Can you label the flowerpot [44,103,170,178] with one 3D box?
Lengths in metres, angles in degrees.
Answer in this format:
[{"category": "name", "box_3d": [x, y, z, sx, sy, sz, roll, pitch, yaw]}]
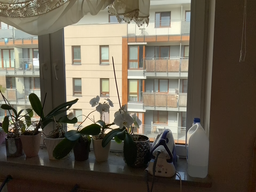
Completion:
[{"category": "flowerpot", "box_3d": [-0.110, 0.280, 1.640, 0.820, 0.340, 0.560, 2, 7, 14]}]
